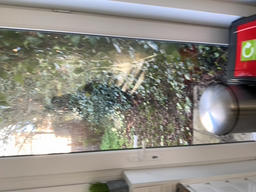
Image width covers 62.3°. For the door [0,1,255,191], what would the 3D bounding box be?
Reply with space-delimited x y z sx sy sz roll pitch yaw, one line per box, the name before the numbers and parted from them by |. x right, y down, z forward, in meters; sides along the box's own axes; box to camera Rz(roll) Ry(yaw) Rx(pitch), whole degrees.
door | 0.020 0.180 1.300 0.090 2.320 1.320 180 90 -75
